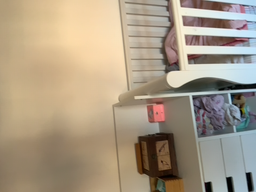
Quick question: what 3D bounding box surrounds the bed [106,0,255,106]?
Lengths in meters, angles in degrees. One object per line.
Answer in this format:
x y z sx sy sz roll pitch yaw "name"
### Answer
0.460 -0.720 1.570 0.750 1.070 1.460 159 107 -69 "bed"
